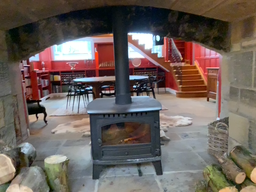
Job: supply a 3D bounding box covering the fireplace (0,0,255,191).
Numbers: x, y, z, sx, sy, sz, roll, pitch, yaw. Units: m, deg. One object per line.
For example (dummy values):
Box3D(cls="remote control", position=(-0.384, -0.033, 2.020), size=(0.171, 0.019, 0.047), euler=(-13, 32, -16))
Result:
Box3D(cls="fireplace", position=(-0.110, 0.020, 2.110), size=(3.010, 2.290, 1.940), euler=(-2, 8, -4))
